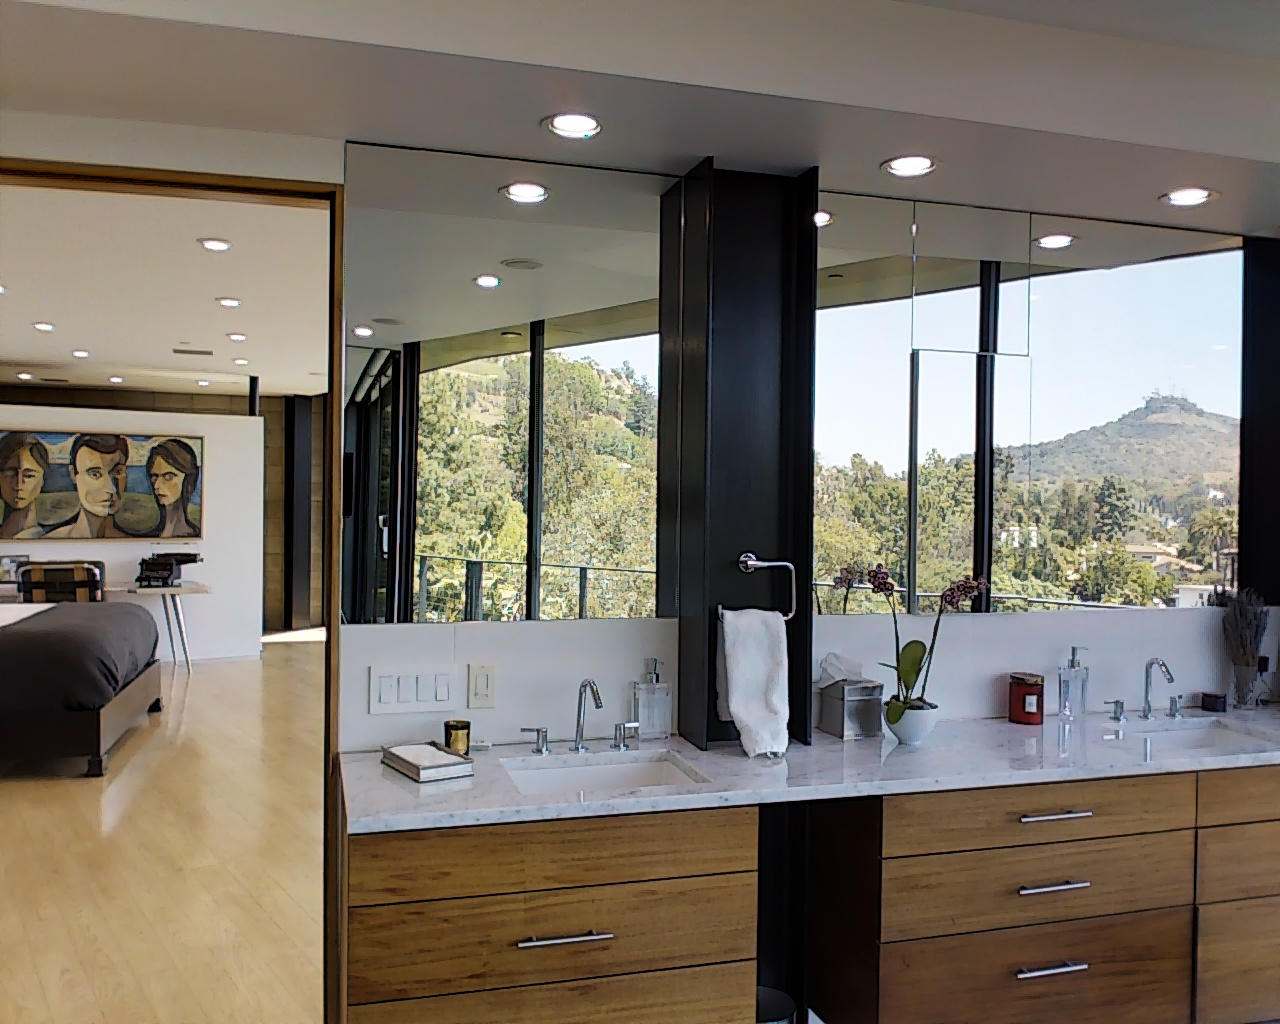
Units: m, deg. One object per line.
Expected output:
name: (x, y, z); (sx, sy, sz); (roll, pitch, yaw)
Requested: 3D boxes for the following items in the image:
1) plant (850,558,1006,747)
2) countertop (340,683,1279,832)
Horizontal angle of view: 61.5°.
plant: (0.780, 0.370, 2.950); (0.300, 0.470, 0.310); (1, 1, -10)
countertop: (0.810, 0.600, 2.860); (3.080, 0.080, 0.610); (1, 1, -17)
